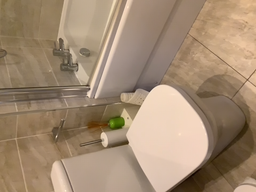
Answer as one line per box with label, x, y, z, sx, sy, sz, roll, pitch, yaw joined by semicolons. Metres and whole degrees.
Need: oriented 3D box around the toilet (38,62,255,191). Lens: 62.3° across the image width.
toilet;0.100;0.230;0.990;0.380;0.830;0.640;56;135;34
